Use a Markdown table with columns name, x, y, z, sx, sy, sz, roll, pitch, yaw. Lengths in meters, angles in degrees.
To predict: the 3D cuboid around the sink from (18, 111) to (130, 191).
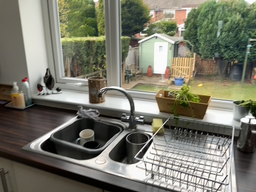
| name | x | y | z | sx | sy | sz | roll | pitch | yaw |
| --- | --- | --- | --- | --- | --- | --- | --- | --- | --- |
| sink | -0.260 | 0.270 | 1.200 | 0.380 | 0.170 | 0.500 | 7 | 18 | 22 |

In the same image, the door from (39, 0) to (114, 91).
| name | x | y | z | sx | sy | sz | roll | pitch | yaw |
| --- | --- | --- | --- | --- | --- | --- | --- | --- | --- |
| door | -0.400 | -0.560 | 1.660 | 0.550 | 0.980 | 0.160 | 6 | 18 | 20 |

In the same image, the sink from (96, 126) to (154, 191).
| name | x | y | z | sx | sy | sz | roll | pitch | yaw |
| --- | --- | --- | --- | --- | --- | --- | --- | --- | --- |
| sink | 0.000 | 0.300 | 1.090 | 0.180 | 0.150 | 0.320 | 7 | 18 | 22 |
